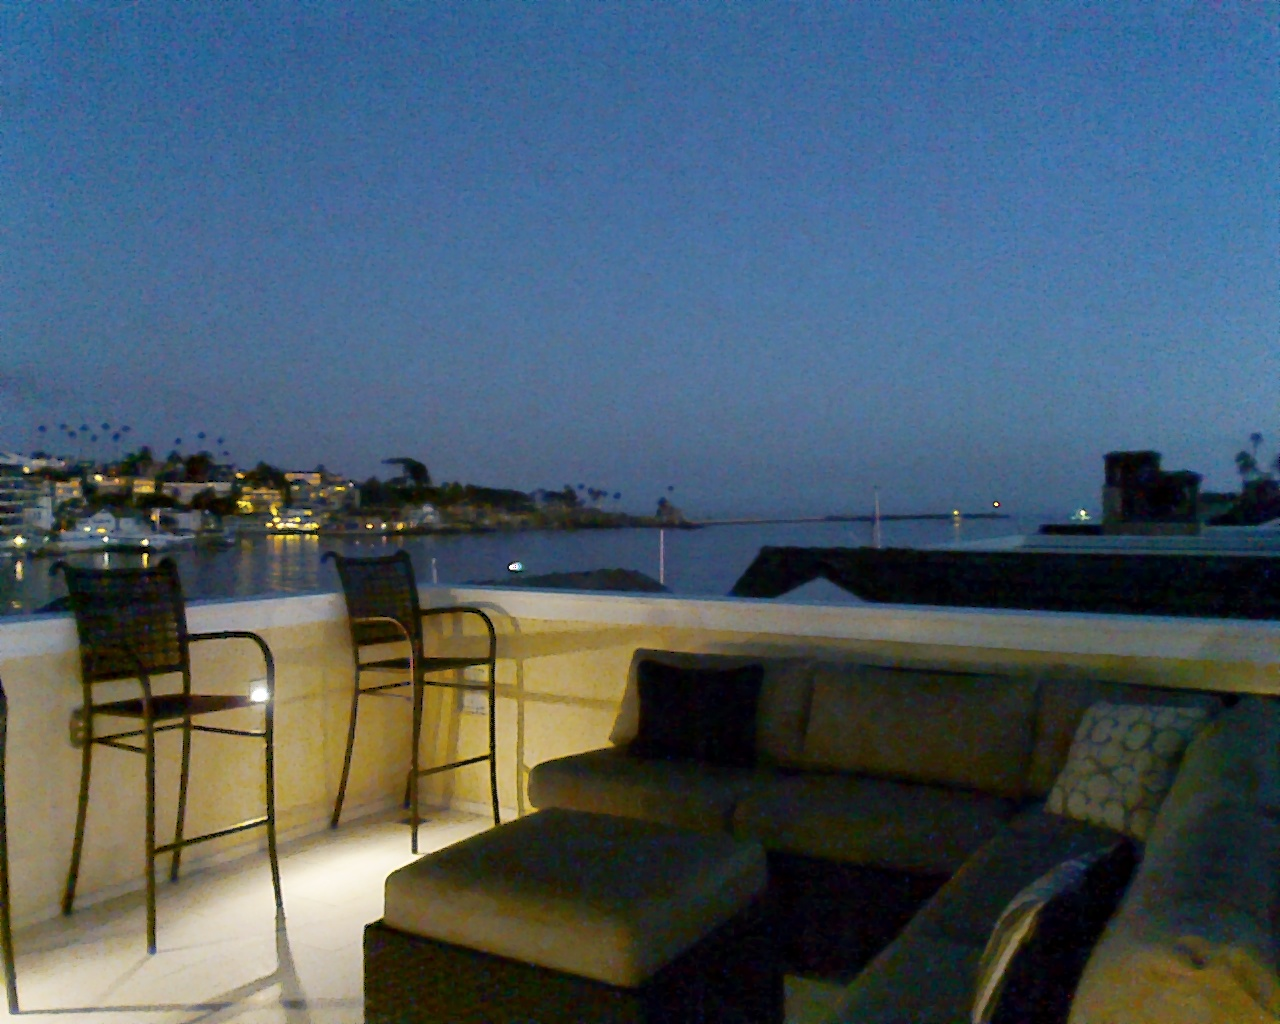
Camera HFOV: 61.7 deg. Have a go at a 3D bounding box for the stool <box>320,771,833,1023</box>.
[{"bbox_3d":[-0.140,1.110,2.760,0.980,0.610,0.870,-2,-1,33],"label":"stool"}]
